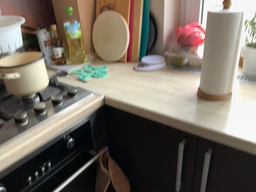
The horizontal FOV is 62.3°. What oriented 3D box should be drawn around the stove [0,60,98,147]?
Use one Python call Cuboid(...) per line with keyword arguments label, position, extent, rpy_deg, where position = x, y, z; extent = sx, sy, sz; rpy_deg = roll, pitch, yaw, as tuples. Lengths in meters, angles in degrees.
Cuboid(label="stove", position=(-0.510, 0.020, 0.730), extent=(0.550, 0.040, 0.590), rpy_deg=(17, 34, 33))
